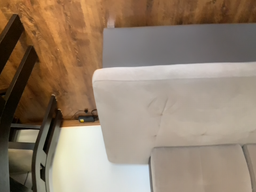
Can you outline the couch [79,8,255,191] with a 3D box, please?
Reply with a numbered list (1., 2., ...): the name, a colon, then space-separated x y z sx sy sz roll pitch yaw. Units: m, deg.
1. couch: 0.290 0.220 1.240 0.850 0.860 1.010 -3 145 1
